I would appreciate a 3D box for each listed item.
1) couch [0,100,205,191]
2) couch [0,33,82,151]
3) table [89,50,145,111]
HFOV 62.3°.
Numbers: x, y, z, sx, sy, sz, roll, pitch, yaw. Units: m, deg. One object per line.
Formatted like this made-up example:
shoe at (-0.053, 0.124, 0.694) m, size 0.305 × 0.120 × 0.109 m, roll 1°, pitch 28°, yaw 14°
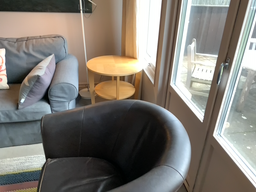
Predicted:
couch at (-0.190, 0.520, 1.120) m, size 0.820 × 0.680 × 0.720 m, roll -3°, pitch 29°, yaw -10°
couch at (-1.400, -0.060, 1.960) m, size 1.810 × 0.820 × 0.830 m, roll -5°, pitch 29°, yaw -13°
table at (-0.160, -0.210, 2.590) m, size 0.580 × 0.540 × 0.550 m, roll -3°, pitch 29°, yaw -10°
